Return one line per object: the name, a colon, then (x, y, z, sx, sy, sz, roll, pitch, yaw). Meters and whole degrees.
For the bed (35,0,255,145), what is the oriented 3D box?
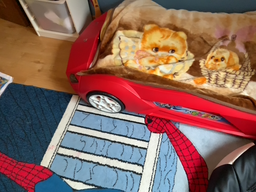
bed: (0.510, -0.240, 1.600, 2.090, 0.290, 0.940, 12, 61, 10)
